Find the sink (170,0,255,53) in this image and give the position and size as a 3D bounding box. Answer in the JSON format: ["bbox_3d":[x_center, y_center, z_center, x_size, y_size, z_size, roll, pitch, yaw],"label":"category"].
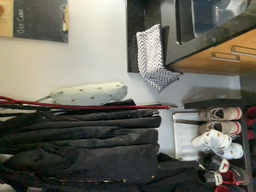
[{"bbox_3d":[0.410,-0.450,1.030,0.400,0.200,0.360,166,103,-65],"label":"sink"}]

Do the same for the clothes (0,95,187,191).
[{"bbox_3d":[-0.160,0.210,1.110,0.360,0.840,0.380,165,105,-65],"label":"clothes"}]
